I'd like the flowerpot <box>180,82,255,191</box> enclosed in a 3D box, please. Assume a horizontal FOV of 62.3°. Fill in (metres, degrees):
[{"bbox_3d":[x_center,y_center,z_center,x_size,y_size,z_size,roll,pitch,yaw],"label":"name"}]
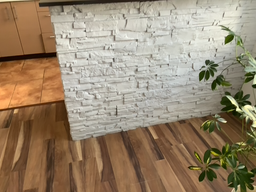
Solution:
[{"bbox_3d":[0.710,0.350,1.020,0.660,0.710,0.470,-8,33,-14],"label":"flowerpot"}]
